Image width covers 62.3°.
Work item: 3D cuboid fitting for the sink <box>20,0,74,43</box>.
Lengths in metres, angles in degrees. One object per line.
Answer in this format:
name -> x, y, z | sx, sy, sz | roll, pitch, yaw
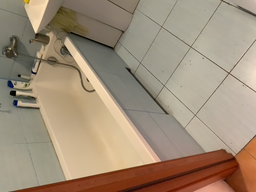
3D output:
sink -> -0.540, -0.760, 1.490 | 0.450, 0.160, 0.600 | 51, 119, 37
